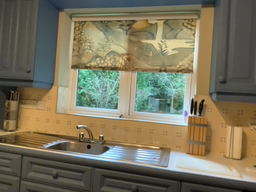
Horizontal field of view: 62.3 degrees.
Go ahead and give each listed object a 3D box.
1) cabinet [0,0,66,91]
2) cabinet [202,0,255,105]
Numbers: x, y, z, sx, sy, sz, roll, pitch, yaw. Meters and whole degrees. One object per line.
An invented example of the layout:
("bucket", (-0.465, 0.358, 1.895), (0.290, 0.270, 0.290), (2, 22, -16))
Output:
("cabinet", (-0.880, -0.470, 1.930), (0.400, 0.800, 0.420), (4, 0, 14))
("cabinet", (0.840, -0.350, 1.480), (0.510, 0.810, 0.460), (4, 0, 14))
